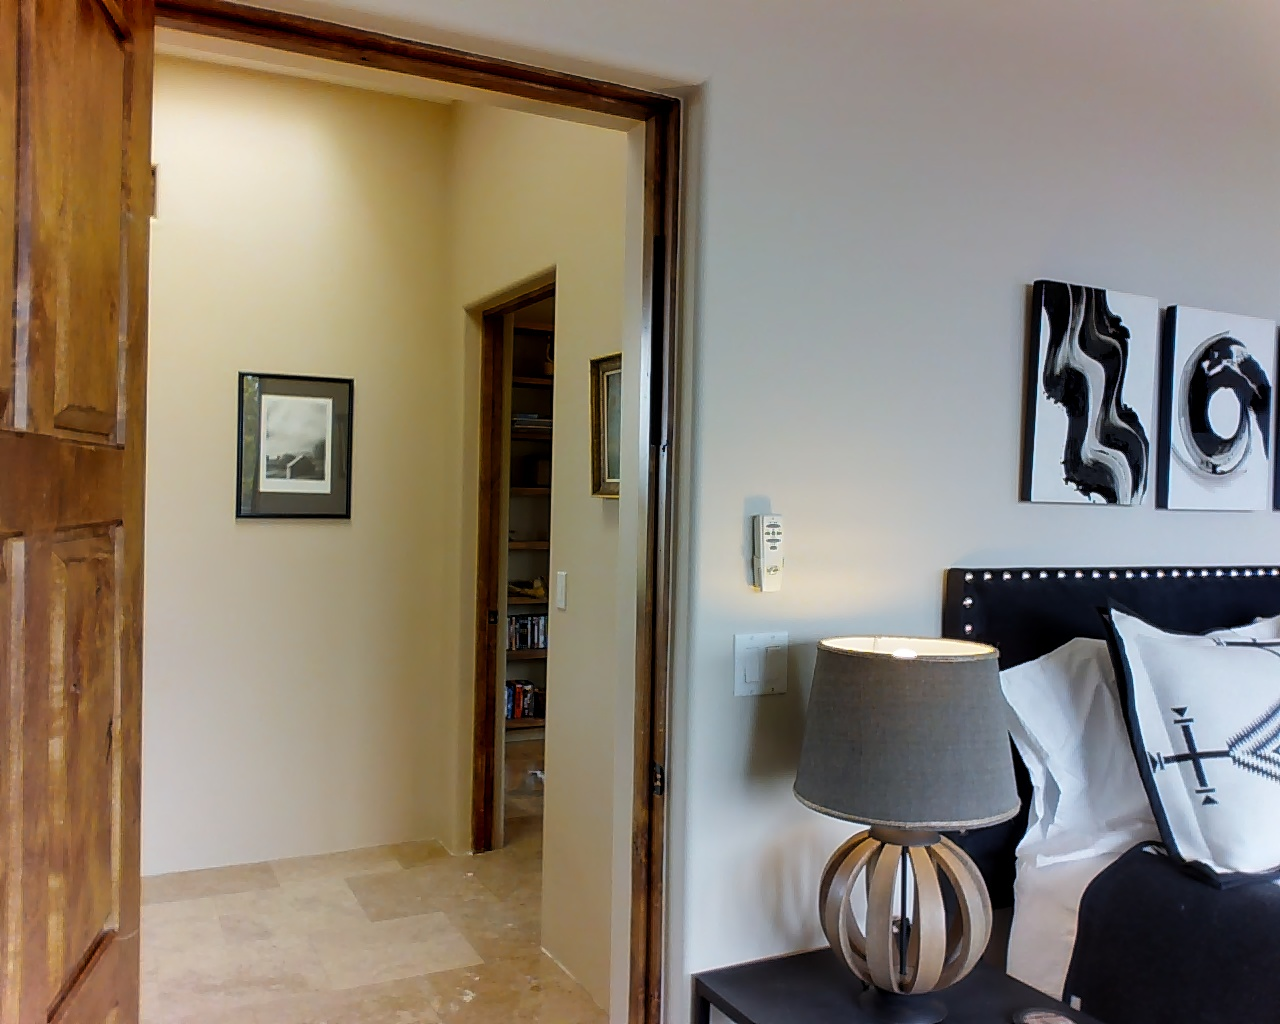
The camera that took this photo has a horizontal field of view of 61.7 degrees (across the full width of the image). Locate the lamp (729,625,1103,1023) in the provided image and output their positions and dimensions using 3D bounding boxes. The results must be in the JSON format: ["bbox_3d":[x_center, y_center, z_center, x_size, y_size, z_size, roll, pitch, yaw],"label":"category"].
[{"bbox_3d":[0.440,0.510,1.770,0.420,0.590,0.410,1,0,-27],"label":"lamp"}]

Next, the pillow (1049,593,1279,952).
[{"bbox_3d":[1.180,0.440,1.970,0.700,0.500,0.300,1,18,-28],"label":"pillow"}]

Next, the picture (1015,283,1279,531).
[{"bbox_3d":[1.340,-0.200,2.430,1.260,0.480,0.070,1,0,-28],"label":"picture"}]
